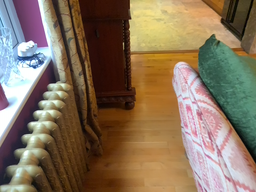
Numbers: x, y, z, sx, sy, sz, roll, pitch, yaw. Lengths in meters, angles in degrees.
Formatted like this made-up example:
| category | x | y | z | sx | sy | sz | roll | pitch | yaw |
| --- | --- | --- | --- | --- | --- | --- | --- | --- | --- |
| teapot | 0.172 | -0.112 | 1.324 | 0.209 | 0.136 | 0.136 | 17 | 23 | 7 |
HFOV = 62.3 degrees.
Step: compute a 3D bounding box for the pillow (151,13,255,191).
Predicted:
| category | x | y | z | sx | sy | sz | roll | pitch | yaw |
| --- | --- | --- | --- | --- | --- | --- | --- | --- | --- |
| pillow | 0.570 | 0.020 | 1.080 | 0.550 | 0.600 | 0.730 | 25 | 44 | 30 |
